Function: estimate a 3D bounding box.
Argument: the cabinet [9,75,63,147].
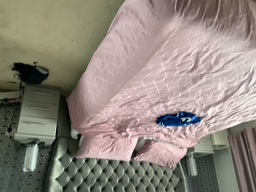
[{"bbox_3d":[-1.030,0.190,2.390,0.430,0.640,0.450,11,152,-25],"label":"cabinet"}]
